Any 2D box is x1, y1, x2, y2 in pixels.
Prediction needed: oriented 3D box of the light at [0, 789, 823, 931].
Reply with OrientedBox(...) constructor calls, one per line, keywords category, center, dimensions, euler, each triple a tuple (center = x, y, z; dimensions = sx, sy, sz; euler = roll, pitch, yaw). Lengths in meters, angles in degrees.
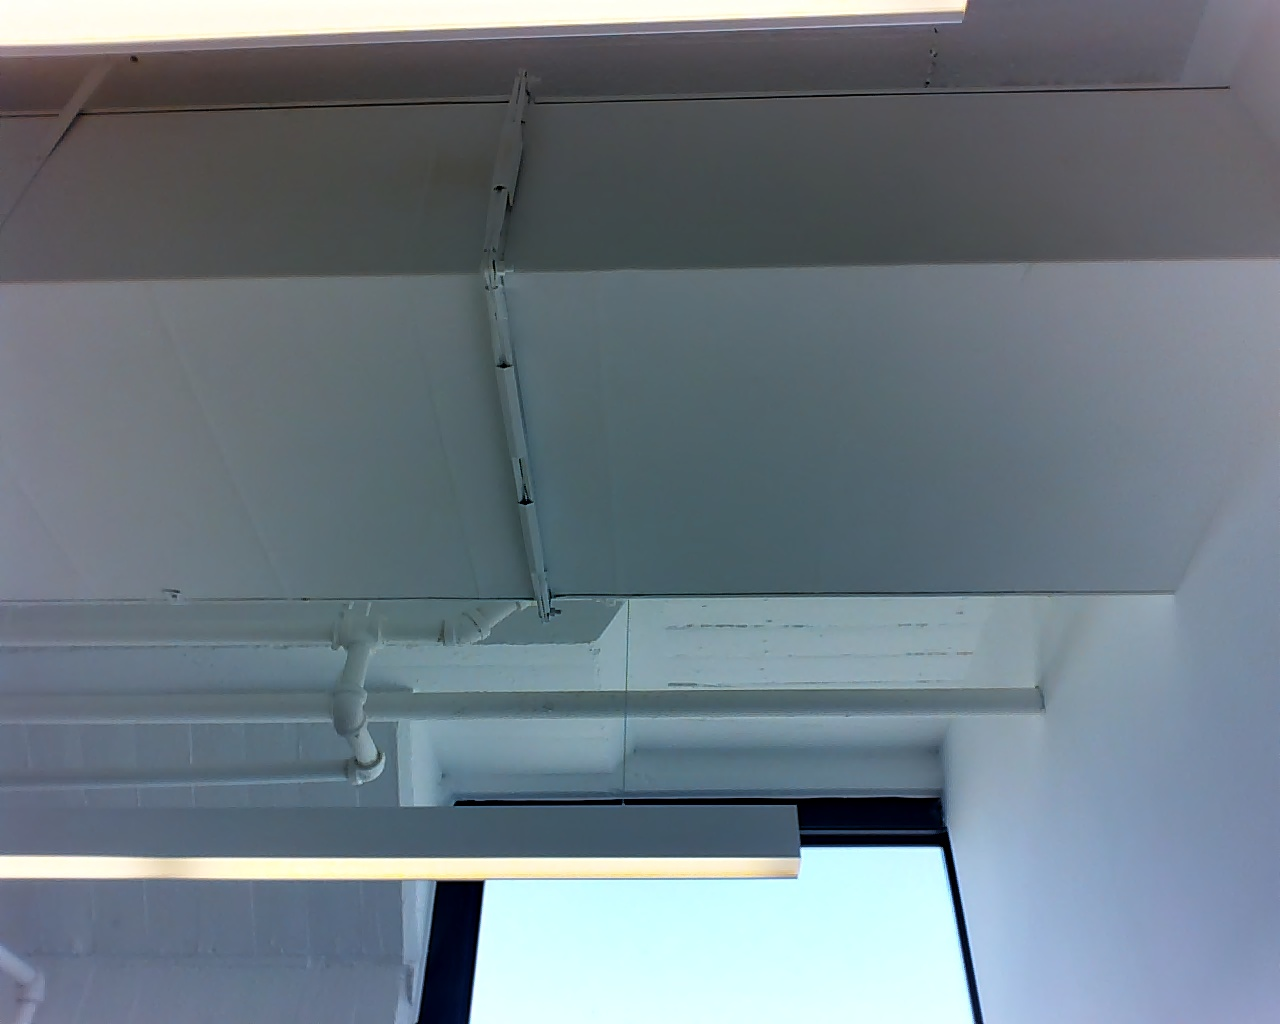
OrientedBox(category="light", center=(-0.919, 0.680, 2.090), dimensions=(2.498, 0.310, 0.140), euler=(0, 48, 2))
